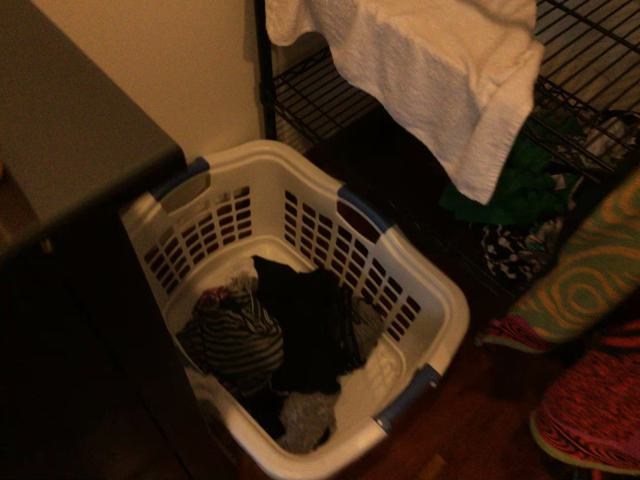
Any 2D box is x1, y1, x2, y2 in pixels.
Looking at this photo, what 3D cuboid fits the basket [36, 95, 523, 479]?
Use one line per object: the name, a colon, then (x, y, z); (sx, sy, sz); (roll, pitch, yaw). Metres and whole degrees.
basket: (-0.080, 0.140, 1.160); (0.560, 0.360, 0.650); (-39, 64, -24)
